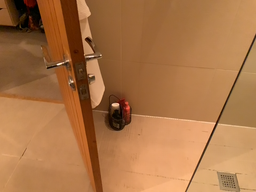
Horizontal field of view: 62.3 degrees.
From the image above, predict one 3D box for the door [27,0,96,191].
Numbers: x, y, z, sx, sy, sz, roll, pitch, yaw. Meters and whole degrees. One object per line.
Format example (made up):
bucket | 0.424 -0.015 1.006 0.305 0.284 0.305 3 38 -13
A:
door | -0.360 -0.290 0.890 0.050 1.910 0.900 -17 47 -19
